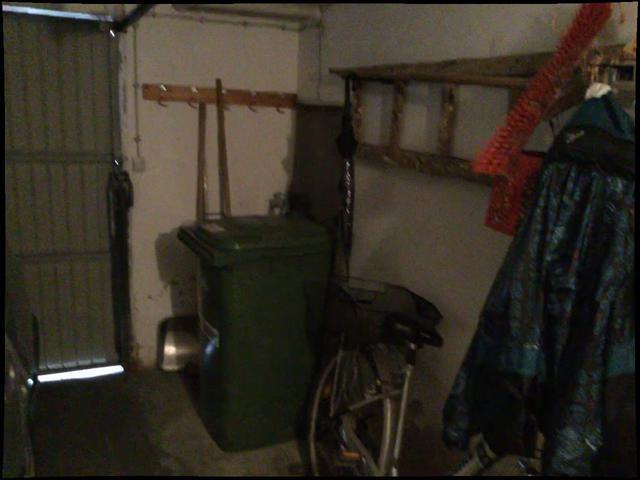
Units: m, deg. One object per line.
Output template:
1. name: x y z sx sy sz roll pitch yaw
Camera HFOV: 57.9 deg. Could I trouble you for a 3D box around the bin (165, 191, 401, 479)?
1. bin: -0.260 0.390 2.820 0.769 1.051 0.930 -2 20 -26
